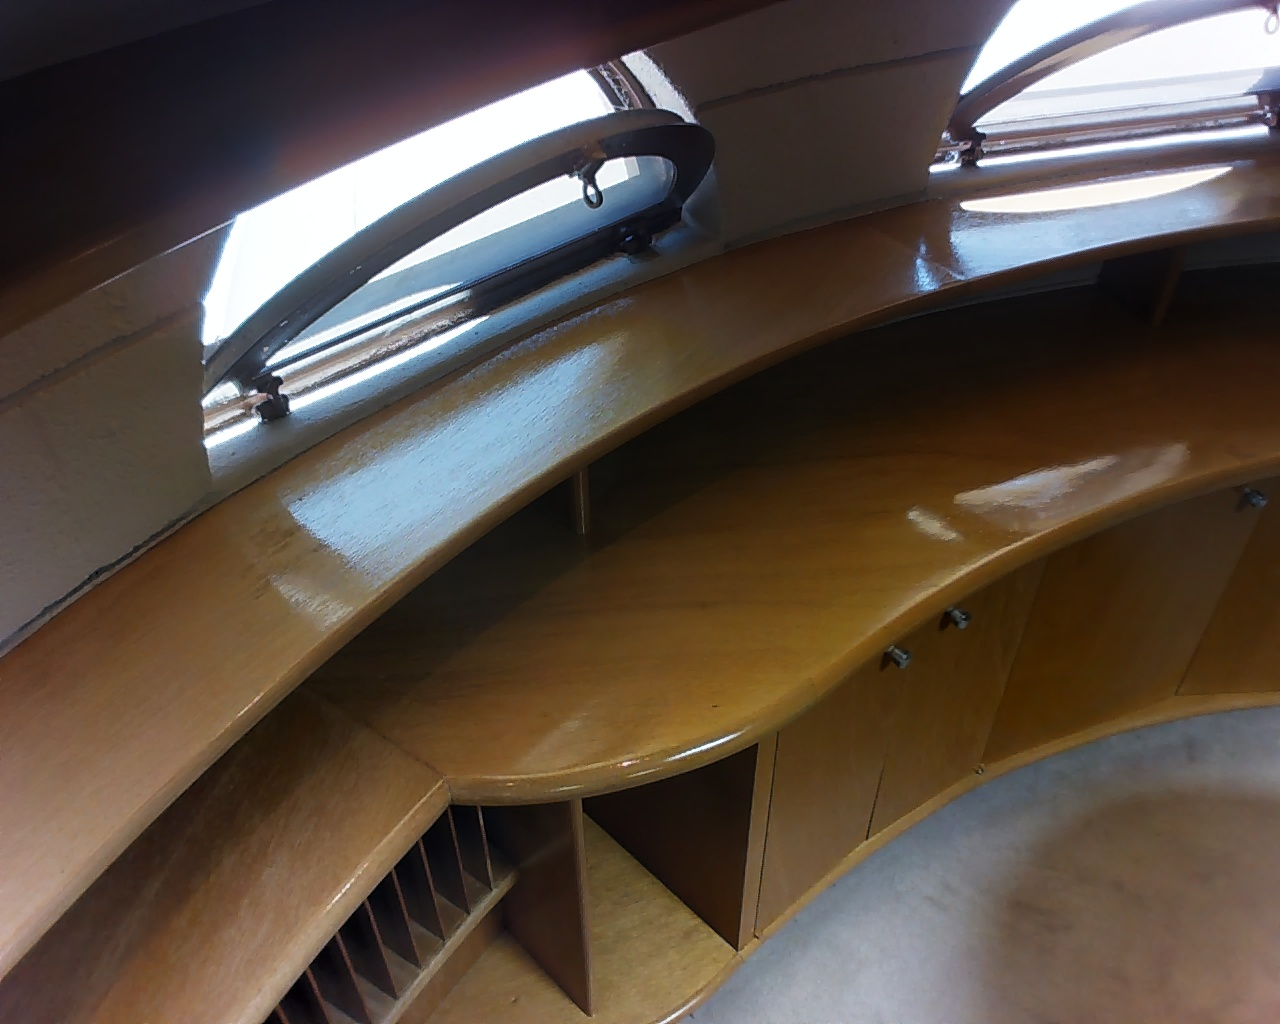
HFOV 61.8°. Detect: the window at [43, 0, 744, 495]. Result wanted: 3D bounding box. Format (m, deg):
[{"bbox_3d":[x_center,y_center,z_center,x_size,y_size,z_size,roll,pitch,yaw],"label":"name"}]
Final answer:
[{"bbox_3d":[-0.170,-0.370,1.160,0.070,0.430,0.770,31,48,33],"label":"window"}]
